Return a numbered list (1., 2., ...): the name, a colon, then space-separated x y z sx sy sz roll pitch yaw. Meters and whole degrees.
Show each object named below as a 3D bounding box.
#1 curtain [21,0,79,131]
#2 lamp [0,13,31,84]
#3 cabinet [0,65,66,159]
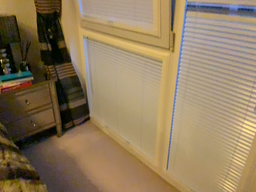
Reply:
1. curtain: -0.670 -0.840 1.590 0.180 2.410 0.390 -21 35 -35
2. lamp: -0.980 -0.360 1.610 0.310 0.460 0.240 -21 34 -34
3. cabinet: -0.900 0.100 1.830 0.470 0.540 0.470 -23 35 -37
